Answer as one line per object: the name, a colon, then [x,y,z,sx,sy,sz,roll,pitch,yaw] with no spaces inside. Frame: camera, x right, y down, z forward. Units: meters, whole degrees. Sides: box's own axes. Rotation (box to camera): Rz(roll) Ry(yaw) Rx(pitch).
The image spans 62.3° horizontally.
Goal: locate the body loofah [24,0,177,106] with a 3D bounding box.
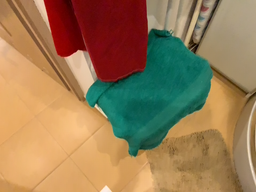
body loofah: [-0.040,-0.280,0.330,0.320,0.890,0.130,-40,72,-13]
